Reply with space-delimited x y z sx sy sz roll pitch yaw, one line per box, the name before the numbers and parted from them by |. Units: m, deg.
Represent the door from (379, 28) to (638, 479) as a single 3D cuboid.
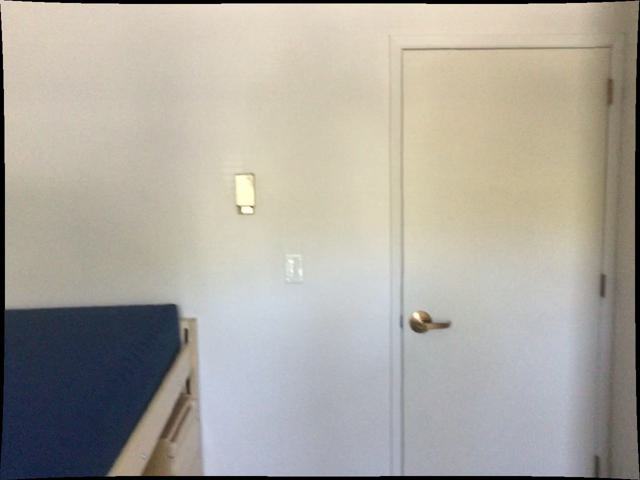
door | 0.699 0.230 2.270 0.889 2.003 0.150 0 8 -3
